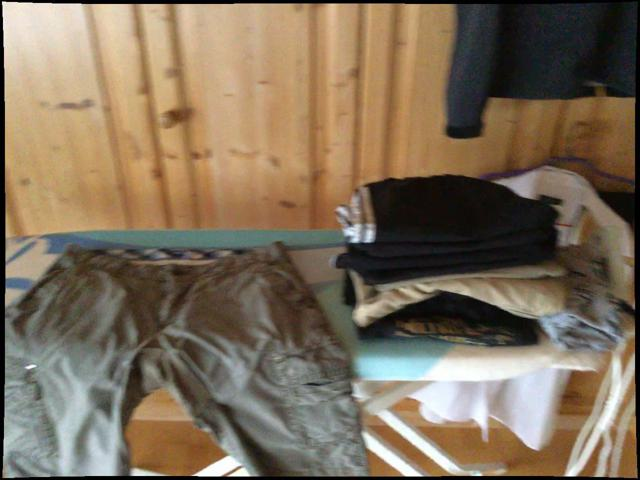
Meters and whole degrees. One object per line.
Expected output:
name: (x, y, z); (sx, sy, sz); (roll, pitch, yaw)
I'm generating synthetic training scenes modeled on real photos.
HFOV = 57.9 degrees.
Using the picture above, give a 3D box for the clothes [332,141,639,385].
clothes: (0.280, 0.020, 1.020); (0.509, 0.240, 0.390); (1, 34, 0)

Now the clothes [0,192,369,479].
clothes: (-0.260, 0.180, 1.120); (0.659, 0.280, 0.600); (1, 34, 0)
